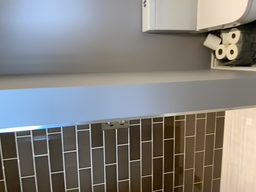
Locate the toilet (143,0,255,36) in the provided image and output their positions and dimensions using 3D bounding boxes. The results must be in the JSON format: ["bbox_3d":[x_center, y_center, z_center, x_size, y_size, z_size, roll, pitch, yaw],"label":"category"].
[{"bbox_3d":[0.570,-0.630,1.360,0.610,0.780,0.390,-149,58,-70],"label":"toilet"}]
